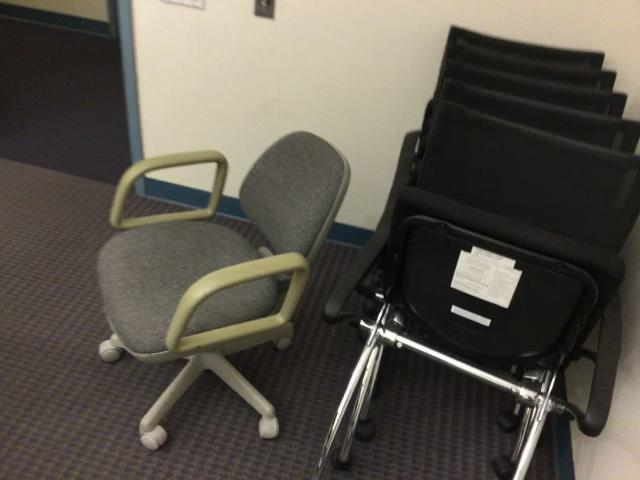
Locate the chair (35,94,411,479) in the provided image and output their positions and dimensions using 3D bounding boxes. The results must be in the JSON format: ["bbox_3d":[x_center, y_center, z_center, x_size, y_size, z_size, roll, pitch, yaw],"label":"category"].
[{"bbox_3d":[-0.290,0.120,1.560,0.640,0.790,0.630,-15,39,-35],"label":"chair"}]

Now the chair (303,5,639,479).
[{"bbox_3d":[0.440,-0.020,1.560,0.600,0.920,0.990,15,32,8],"label":"chair"}]
